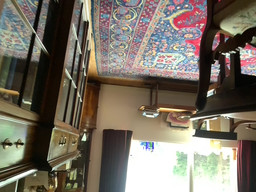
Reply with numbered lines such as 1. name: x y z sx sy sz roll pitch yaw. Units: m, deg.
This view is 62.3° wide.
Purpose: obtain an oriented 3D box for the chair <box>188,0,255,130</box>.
1. chair: 0.630 -0.320 0.890 0.540 0.880 0.470 9 167 -20

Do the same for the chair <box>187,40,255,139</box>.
1. chair: 0.980 -0.020 2.200 0.490 0.870 0.540 7 167 -13
